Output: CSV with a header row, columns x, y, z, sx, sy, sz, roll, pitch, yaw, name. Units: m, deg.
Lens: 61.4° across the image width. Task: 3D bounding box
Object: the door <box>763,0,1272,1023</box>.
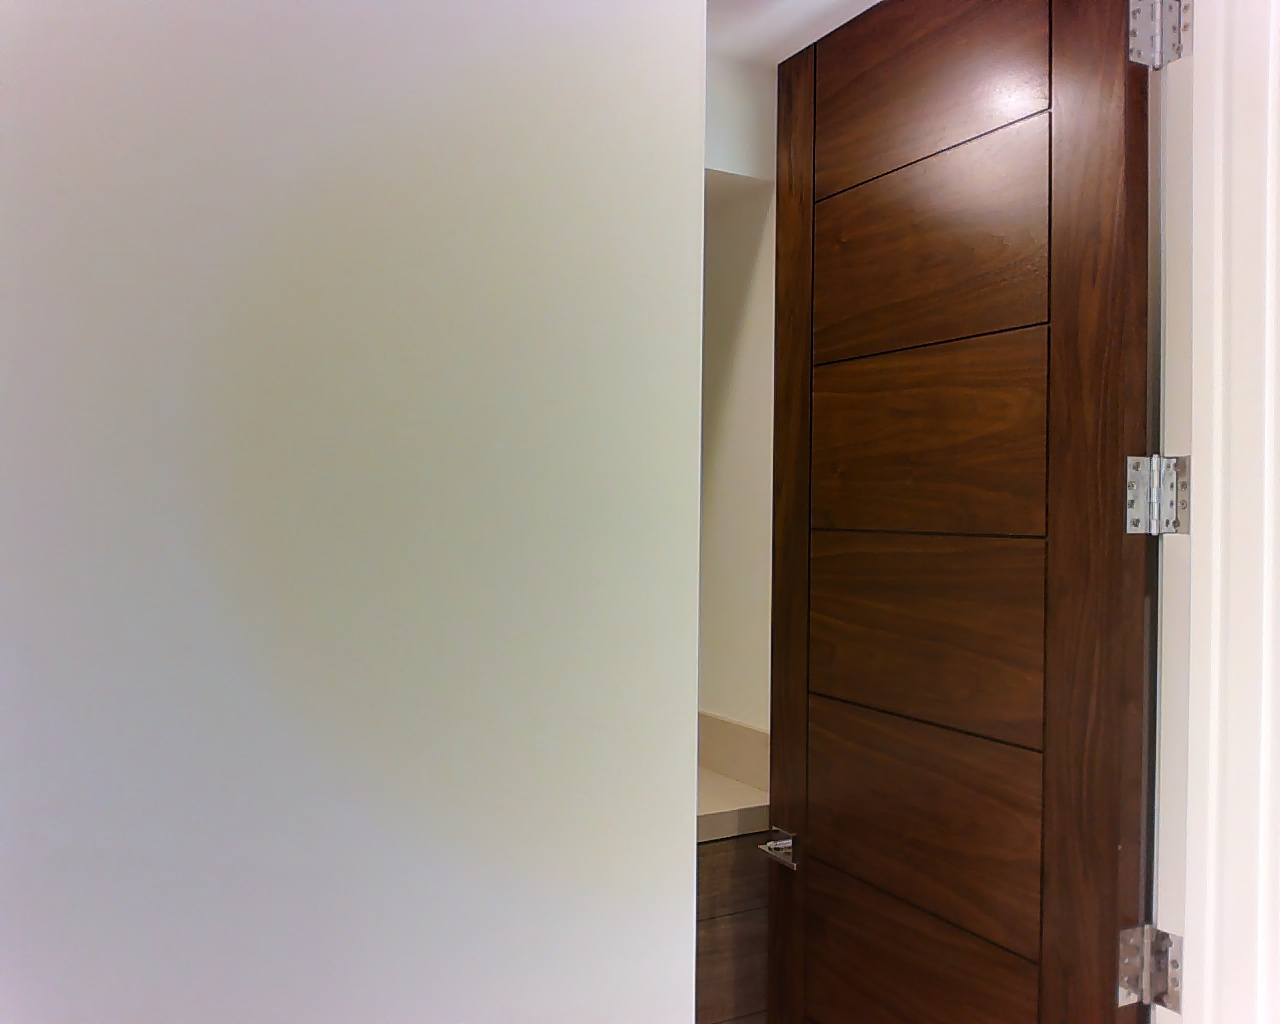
x,y,z,sx,sy,sz,roll,pitch,yaw,name
0.510,0.300,1.740,0.060,2.490,0.970,0,1,-29,door
